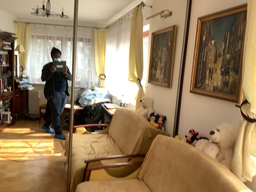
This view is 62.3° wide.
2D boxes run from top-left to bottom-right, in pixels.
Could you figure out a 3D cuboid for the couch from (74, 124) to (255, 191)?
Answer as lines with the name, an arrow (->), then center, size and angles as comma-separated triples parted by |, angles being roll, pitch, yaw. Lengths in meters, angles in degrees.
couch -> 0.150, 0.870, 1.680 | 1.010, 0.940, 1.380 | 2, 8, -19
